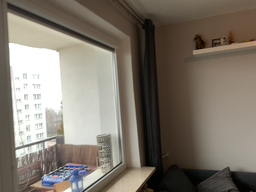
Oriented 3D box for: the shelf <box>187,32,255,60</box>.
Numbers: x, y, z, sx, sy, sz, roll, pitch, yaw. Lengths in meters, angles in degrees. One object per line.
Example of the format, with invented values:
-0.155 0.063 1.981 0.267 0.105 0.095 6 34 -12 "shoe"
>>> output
1.290 -0.620 2.590 1.080 0.210 0.170 -4 0 16 "shelf"
